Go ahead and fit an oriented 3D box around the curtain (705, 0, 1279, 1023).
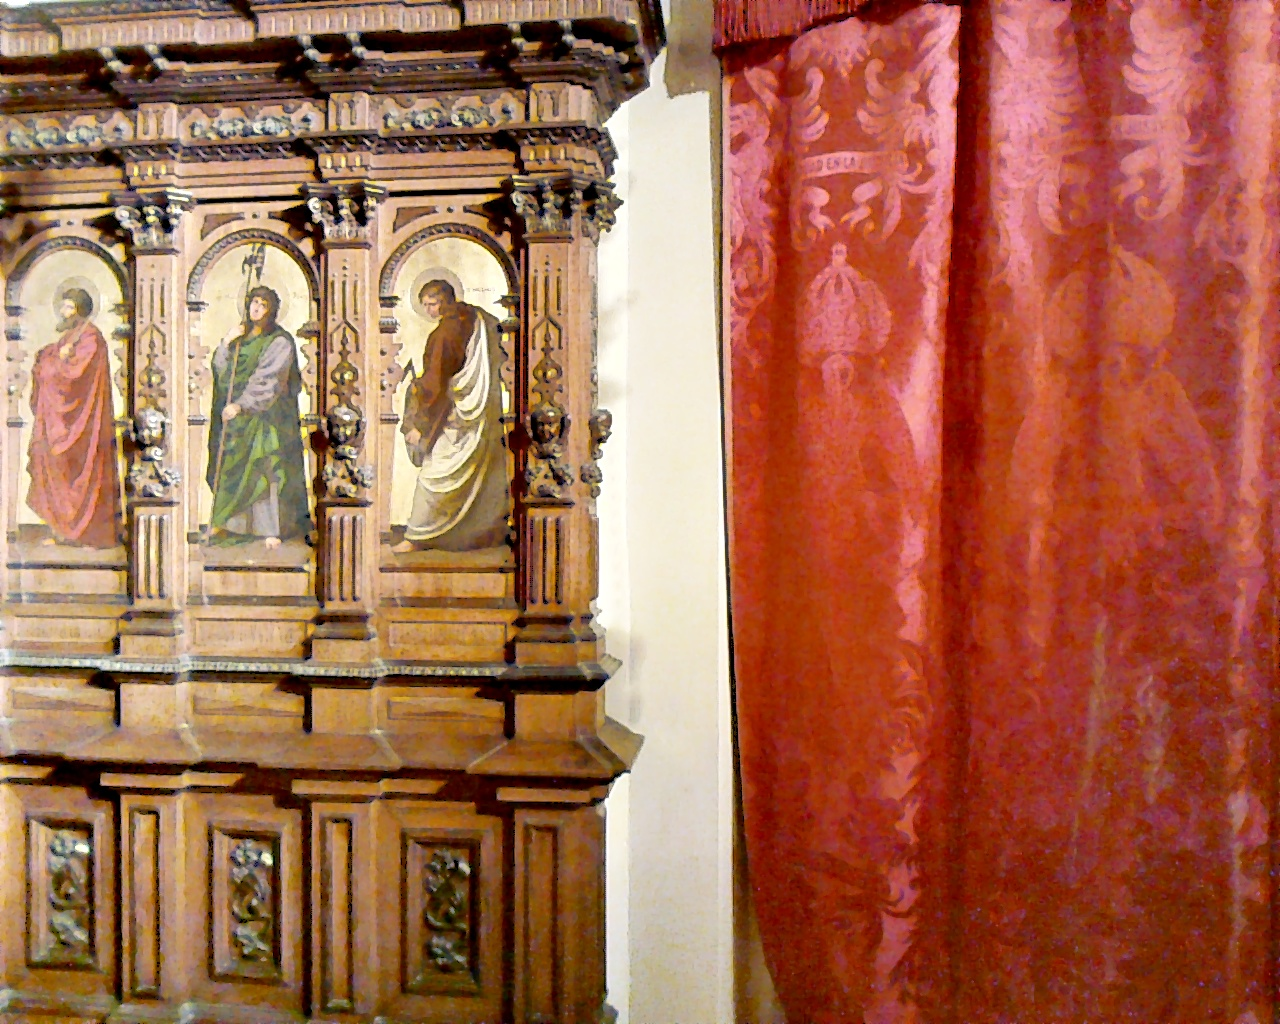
[{"bbox_3d":[0.960,0.030,2.030,1.750,2.641,0.240,1,1,31],"label":"curtain"}]
